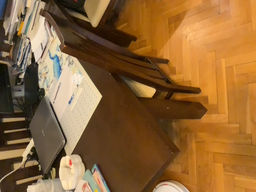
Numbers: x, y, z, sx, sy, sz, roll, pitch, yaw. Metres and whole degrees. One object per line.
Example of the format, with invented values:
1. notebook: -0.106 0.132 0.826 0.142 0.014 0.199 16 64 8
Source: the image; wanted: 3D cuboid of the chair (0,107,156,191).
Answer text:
1. chair: -0.340 0.400 1.540 0.410 0.990 0.430 53 122 36
